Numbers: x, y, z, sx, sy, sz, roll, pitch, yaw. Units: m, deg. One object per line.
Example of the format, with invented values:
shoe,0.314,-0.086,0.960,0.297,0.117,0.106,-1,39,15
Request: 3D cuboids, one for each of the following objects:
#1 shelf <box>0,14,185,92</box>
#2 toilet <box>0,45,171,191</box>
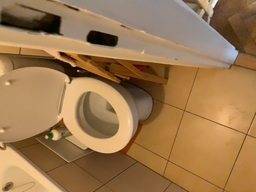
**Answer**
shelf,-0.060,-0.170,0.970,0.350,0.930,0.110,28,108,27
toilet,-0.300,0.030,1.120,0.740,0.770,0.380,23,106,28
